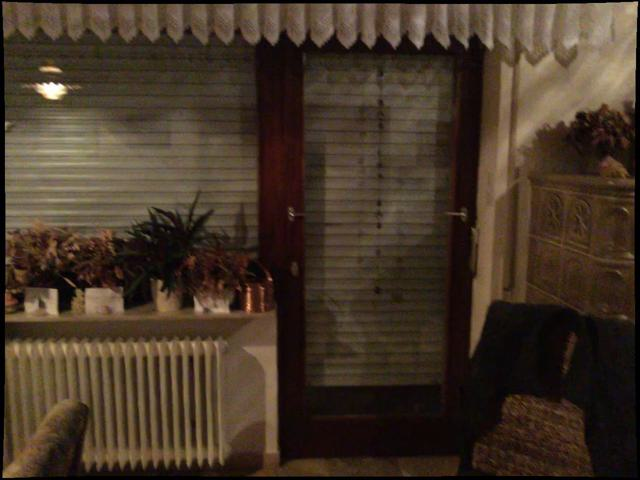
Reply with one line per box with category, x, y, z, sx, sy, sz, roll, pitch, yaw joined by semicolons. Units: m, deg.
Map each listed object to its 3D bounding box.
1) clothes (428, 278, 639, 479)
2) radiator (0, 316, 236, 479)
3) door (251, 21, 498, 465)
clothes;0.739;0.601;1.880;0.530;0.781;0.630;8;12;35
radiator;-1.049;0.721;2.570;1.319;0.701;0.230;0;10;-5
door;0.220;0.050;2.730;1.049;1.992;0.270;0;10;-5
